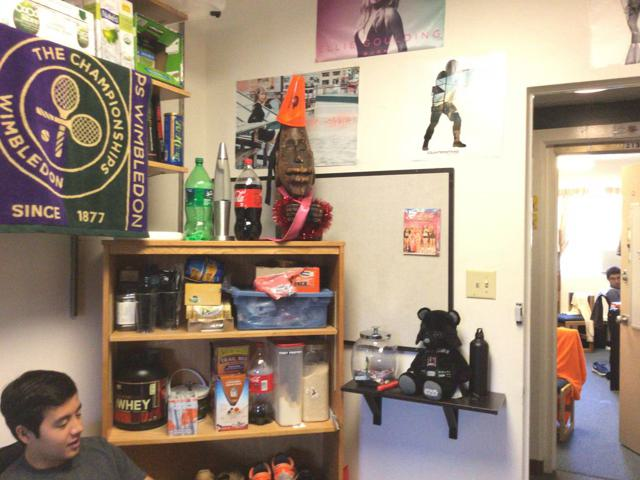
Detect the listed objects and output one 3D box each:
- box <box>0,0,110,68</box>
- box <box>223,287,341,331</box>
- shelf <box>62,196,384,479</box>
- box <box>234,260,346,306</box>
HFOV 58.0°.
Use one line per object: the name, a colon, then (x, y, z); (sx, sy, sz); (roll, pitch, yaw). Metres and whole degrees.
box: (-0.920, -0.700, 1.840); (0.300, 0.160, 0.360); (0, -2, 26)
box: (-0.160, 0.270, 2.320); (0.430, 0.150, 0.280); (1, -2, -13)
shelf: (-0.340, 0.680, 2.320); (0.940, 1.600, 0.860); (0, -2, 26)
box: (-0.130, 0.170, 2.360); (0.400, 0.170, 0.290); (1, -2, -15)
